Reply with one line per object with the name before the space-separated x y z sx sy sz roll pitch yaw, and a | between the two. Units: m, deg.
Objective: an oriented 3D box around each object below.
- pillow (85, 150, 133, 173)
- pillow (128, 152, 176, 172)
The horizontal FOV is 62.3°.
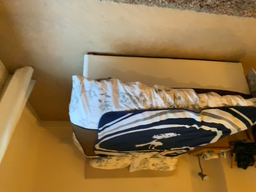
pillow | -0.270 0.910 2.910 0.600 0.430 0.150 5 -129 -10
pillow | 0.340 0.960 3.080 0.640 0.340 0.070 3 -147 -11
